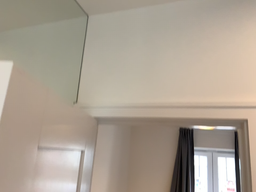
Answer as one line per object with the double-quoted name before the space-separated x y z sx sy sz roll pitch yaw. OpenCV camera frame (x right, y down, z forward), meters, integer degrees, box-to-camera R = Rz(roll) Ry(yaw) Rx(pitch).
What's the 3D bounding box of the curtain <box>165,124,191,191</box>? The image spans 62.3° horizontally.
"curtain" 0.940 1.770 4.000 0.440 2.440 0.270 -2 -16 22
